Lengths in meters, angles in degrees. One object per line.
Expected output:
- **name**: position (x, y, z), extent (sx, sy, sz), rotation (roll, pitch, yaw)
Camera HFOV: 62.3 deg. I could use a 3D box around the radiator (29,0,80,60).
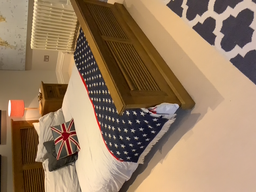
- **radiator**: position (-1.350, -1.140, 3.820), extent (0.200, 0.730, 1.020), rotation (63, 141, 37)
